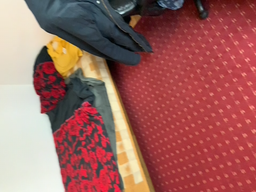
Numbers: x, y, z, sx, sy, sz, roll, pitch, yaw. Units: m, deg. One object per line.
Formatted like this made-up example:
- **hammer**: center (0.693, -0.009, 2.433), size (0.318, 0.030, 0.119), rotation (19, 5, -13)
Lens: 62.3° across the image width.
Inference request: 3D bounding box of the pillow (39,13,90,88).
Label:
- **pillow**: center (-0.720, -0.460, 2.320), size (0.640, 0.240, 0.490), rotation (-41, 61, 43)
